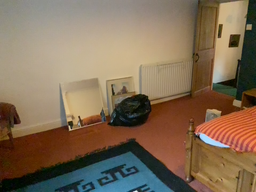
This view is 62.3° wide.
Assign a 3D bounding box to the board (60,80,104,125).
[{"bbox_3d":[-0.700,0.120,3.290,0.620,0.670,0.050,4,10,-38],"label":"board"}]
